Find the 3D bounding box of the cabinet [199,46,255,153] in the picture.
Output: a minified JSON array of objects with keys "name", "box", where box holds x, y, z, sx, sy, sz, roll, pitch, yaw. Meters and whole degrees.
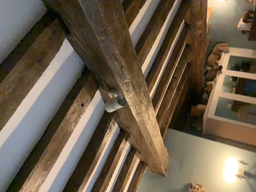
[{"name":"cabinet","box":[2.820,0.110,4.230,1.920,2.230,0.840,-62,-28,-28]}]
